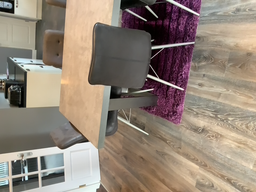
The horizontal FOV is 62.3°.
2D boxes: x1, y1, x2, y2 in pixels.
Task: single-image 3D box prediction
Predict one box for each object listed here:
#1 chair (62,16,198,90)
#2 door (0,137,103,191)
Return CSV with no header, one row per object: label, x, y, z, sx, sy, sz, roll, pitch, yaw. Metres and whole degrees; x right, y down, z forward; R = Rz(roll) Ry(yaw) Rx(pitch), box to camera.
chair,0.020,-0.310,1.710,0.540,0.910,0.420,21,108,53
door,-1.450,1.000,2.620,0.050,2.480,0.650,-11,82,55
